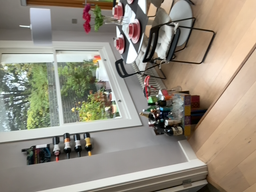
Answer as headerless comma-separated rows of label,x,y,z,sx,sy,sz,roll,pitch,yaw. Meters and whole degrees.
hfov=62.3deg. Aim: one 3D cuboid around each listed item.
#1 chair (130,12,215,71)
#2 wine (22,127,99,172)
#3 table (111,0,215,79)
chair,0.480,-0.640,2.490,0.510,0.730,0.470,-116,29,-46
wine,-0.710,0.540,2.250,0.390,0.730,0.070,-114,28,-43
table,0.330,-0.970,2.820,1.030,0.740,1.030,108,151,-46
